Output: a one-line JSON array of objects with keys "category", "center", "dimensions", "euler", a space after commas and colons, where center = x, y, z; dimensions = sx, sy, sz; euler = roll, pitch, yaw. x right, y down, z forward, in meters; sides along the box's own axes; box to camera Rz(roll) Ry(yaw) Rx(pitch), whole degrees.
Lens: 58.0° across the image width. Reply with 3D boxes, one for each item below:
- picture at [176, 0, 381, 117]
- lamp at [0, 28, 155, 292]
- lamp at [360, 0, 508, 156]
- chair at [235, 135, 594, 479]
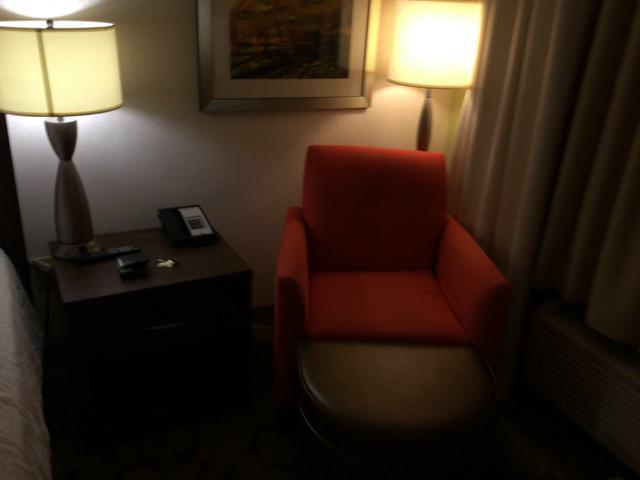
[{"category": "picture", "center": [-0.130, -0.980, 2.200], "dimensions": [0.820, 0.980, 0.110], "euler": [-8, 23, -29]}, {"category": "lamp", "center": [-0.830, -0.290, 1.910], "dimensions": [0.420, 0.750, 0.430], "euler": [-8, 23, -29]}, {"category": "lamp", "center": [0.440, -0.680, 2.330], "dimensions": [0.360, 0.590, 0.380], "euler": [-8, 23, -29]}, {"category": "chair", "center": [0.250, 0.180, 2.170], "dimensions": [0.980, 0.940, 0.900], "euler": [4, 20, 1]}]
